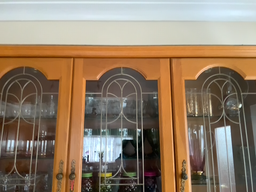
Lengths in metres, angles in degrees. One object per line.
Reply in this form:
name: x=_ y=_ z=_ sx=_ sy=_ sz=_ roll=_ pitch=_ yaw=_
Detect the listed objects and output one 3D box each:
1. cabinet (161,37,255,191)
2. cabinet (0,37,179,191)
cabinet: x=0.500 y=0.380 z=1.110 sx=0.560 sy=1.320 sz=0.330 roll=0 pitch=-12 yaw=-1
cabinet: x=-0.280 y=0.170 z=1.140 sx=1.000 sy=0.880 sz=0.330 roll=0 pitch=-12 yaw=-1
